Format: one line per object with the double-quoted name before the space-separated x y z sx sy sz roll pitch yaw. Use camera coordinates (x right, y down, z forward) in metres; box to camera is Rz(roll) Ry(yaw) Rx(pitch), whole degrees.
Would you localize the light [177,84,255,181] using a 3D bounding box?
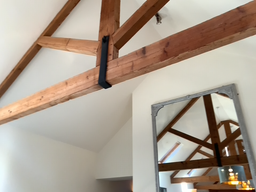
"light" 1.940 0.760 4.860 0.650 0.590 2.070 -33 -129 15
